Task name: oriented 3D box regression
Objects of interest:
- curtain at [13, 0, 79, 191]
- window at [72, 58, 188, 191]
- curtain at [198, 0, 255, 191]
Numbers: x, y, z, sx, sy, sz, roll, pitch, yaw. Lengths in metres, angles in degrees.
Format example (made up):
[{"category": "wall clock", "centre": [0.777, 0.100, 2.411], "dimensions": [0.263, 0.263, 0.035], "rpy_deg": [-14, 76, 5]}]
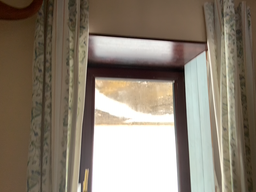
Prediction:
[{"category": "curtain", "centre": [-0.380, 0.400, 0.990], "dimensions": [0.240, 2.100, 0.160], "rpy_deg": [1, 170, -11]}, {"category": "window", "centre": [0.020, 0.620, 1.590], "dimensions": [0.840, 1.800, 0.130], "rpy_deg": [1, 170, -10]}, {"category": "curtain", "centre": [0.600, 0.410, 1.170], "dimensions": [0.210, 2.100, 0.180], "rpy_deg": [1, 170, -11]}]
